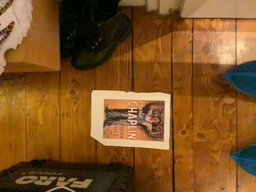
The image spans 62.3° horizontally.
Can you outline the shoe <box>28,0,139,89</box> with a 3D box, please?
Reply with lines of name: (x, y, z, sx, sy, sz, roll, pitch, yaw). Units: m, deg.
shoe: (-0.140, -0.200, 0.730, 0.220, 0.140, 0.270, 44, 95, 4)
